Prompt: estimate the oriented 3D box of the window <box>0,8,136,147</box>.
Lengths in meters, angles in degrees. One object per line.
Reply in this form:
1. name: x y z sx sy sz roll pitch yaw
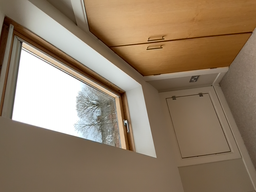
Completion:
1. window: -0.350 -0.010 1.660 0.100 1.310 0.680 -23 63 23
